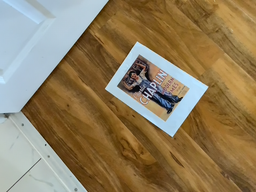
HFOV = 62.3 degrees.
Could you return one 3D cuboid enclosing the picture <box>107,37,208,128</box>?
[{"bbox_3d":[0.100,-0.050,0.750,0.280,0.040,0.230,21,91,9],"label":"picture"}]
